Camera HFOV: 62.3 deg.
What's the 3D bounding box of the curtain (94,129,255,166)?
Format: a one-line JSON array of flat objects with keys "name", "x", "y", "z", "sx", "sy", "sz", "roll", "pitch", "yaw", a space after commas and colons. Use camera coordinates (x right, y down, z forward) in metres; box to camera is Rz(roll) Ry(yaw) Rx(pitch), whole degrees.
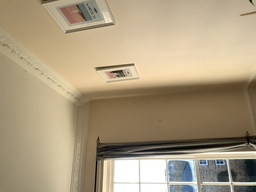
[{"name": "curtain", "x": 0.590, "y": 0.650, "z": 2.590, "sx": 0.240, "sy": 2.030, "sz": 0.350, "roll": 59, "pitch": -151, "yaw": -64}]
